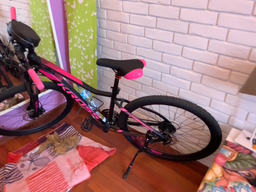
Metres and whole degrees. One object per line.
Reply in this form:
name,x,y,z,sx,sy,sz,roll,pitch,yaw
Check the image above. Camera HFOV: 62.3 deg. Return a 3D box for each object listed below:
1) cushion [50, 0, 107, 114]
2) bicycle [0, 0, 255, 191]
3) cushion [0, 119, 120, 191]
cushion,-0.410,-0.400,1.850,0.360,1.110,0.190,24,40,32
bicycle,-0.200,0.050,1.360,1.460,0.970,0.900,26,41,34
cushion,-0.550,0.510,1.610,0.600,0.040,0.800,25,41,34
